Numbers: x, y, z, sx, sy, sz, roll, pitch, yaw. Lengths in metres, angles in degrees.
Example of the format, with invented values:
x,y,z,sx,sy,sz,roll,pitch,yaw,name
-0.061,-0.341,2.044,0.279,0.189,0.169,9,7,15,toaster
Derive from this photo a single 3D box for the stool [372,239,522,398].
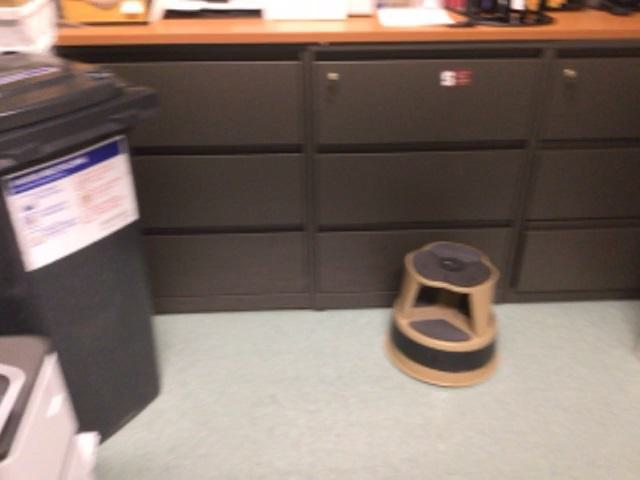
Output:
x,y,z,sx,sy,sz,roll,pitch,yaw,name
0.390,0.250,1.910,0.380,0.360,0.350,-3,29,-3,stool
